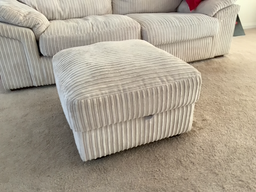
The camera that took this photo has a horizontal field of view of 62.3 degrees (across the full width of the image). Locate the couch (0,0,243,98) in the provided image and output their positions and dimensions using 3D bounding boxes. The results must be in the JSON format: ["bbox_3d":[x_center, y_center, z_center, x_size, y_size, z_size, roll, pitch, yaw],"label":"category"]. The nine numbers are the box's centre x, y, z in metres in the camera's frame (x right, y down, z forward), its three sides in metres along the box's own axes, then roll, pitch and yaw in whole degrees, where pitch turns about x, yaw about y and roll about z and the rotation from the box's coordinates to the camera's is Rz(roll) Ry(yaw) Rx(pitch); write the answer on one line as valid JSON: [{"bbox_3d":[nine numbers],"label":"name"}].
[{"bbox_3d":[-0.130,-0.750,2.010,2.040,0.800,0.990,-11,31,-17],"label":"couch"}]
